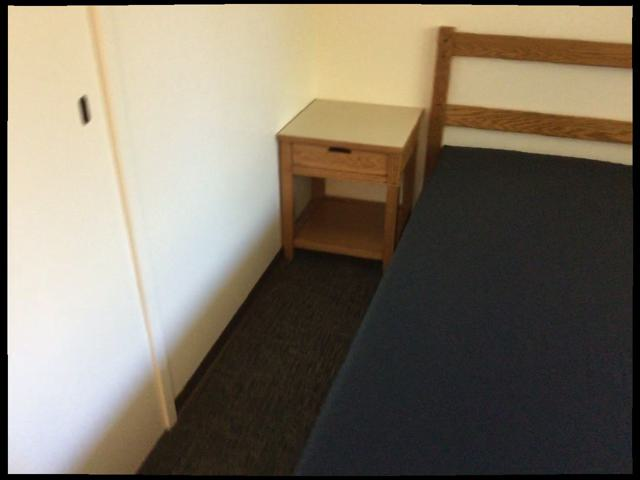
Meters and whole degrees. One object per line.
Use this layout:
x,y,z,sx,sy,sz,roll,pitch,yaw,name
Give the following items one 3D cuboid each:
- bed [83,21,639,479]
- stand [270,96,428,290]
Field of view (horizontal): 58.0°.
0.629,0.120,1.610,1.118,0.941,2.251,10,32,15,bed
0.140,-0.230,2.570,0.539,0.621,0.540,10,32,15,stand
